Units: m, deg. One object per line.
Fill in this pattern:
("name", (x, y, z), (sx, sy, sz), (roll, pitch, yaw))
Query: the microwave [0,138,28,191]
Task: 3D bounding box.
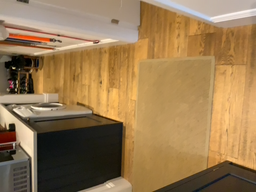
("microwave", (-1.100, 0.650, 1.880), (0.500, 0.270, 0.400), (9, 99, 50))
